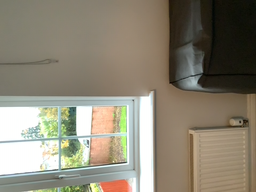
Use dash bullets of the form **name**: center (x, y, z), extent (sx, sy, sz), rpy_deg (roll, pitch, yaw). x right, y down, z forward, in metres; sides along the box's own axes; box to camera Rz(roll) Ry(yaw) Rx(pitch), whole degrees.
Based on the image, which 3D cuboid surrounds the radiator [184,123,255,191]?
- **radiator**: center (0.660, 0.560, 1.510), extent (0.110, 0.520, 0.700), rpy_deg (-171, 81, -71)
